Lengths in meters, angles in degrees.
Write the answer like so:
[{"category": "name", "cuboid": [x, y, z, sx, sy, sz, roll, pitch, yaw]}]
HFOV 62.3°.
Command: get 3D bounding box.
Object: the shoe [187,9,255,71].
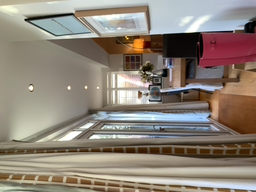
[{"category": "shoe", "cuboid": [0.610, -0.330, 1.350, 0.360, 0.390, 0.300, -16, -74, -84]}]
